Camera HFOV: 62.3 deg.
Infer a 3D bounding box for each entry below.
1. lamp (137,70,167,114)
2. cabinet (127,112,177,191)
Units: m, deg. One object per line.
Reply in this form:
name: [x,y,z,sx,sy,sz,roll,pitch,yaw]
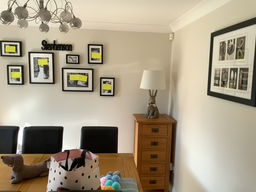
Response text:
lamp: [0.300,-0.070,2.820,0.310,0.540,0.380,1,7,-4]
cabinet: [0.300,0.770,2.910,0.560,1.020,0.420,1,7,-5]
